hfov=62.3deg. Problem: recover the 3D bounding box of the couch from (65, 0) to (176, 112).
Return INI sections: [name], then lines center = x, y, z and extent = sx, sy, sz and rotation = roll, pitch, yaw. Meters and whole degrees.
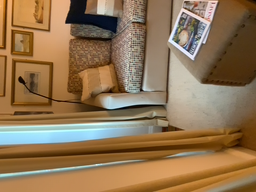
[couch]
center = -0.150, -1.020, 2.430
extent = 1.160, 0.810, 2.270
rotation = 6, 94, 62
